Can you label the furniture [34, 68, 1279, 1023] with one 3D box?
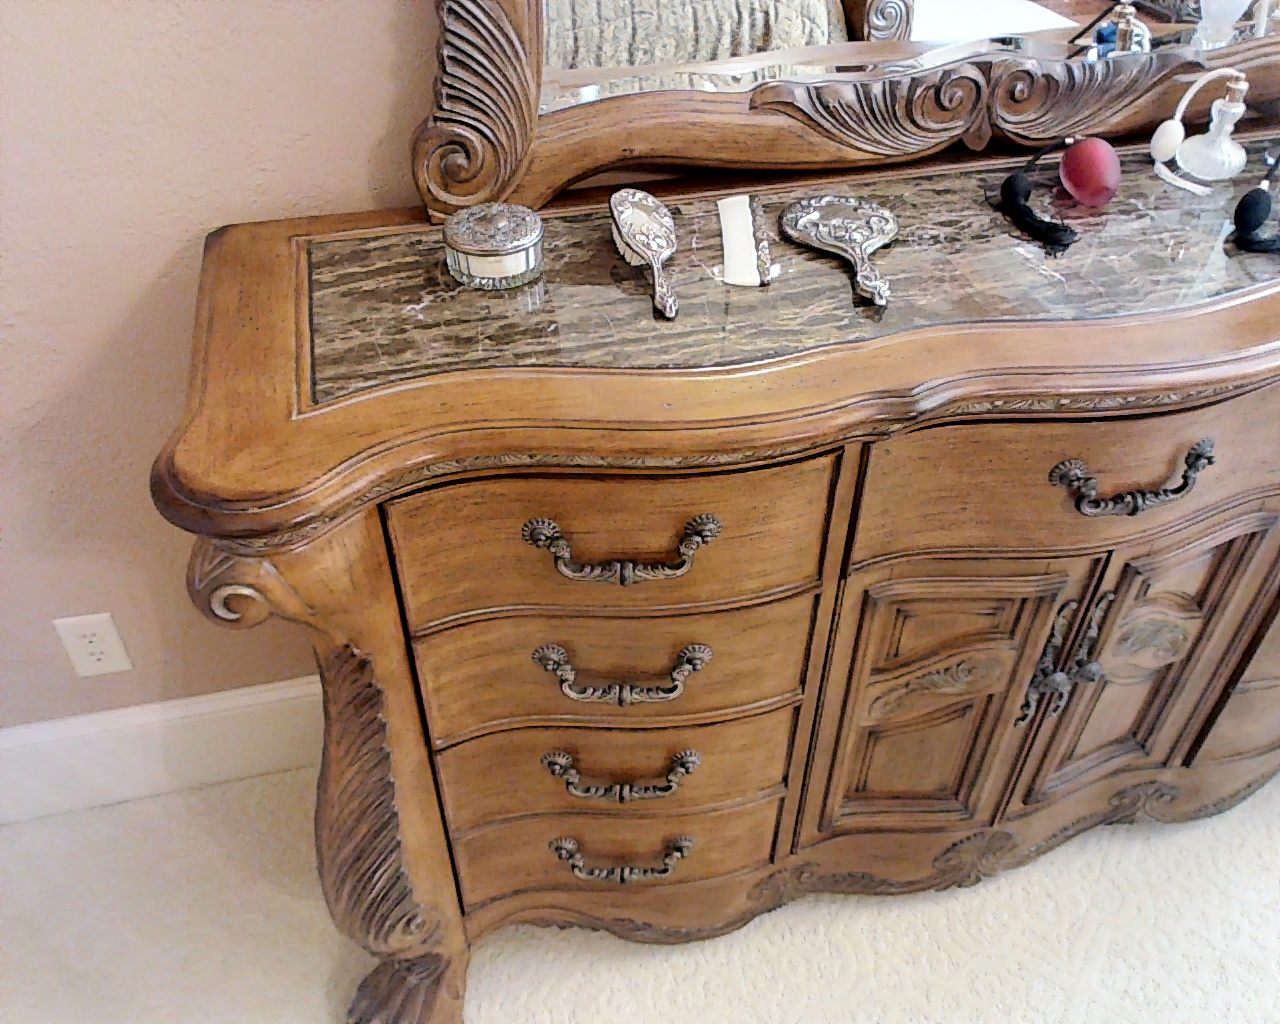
[{"bbox_3d":[0.460,0.080,1.450,1.920,1.070,0.570,-9,43,-10],"label":"furniture"}]
